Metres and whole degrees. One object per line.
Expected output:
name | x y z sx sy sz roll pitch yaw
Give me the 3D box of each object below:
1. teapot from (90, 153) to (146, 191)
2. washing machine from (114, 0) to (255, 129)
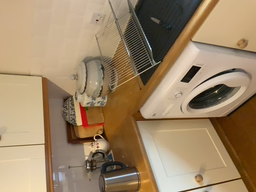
teapot | -0.070 0.540 1.340 0.200 0.250 0.260 -58 40 45
washing machine | 0.470 -0.220 1.550 0.640 0.870 0.650 -58 39 45
